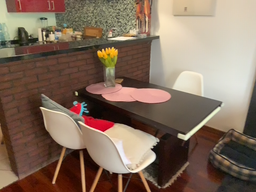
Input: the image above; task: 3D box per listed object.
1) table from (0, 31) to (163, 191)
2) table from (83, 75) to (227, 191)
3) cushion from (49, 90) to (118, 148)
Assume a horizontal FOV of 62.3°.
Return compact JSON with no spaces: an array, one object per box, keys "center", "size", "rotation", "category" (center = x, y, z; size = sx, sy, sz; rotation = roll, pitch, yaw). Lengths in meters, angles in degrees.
[{"center":[-0.440,-0.080,2.470],"size":[0.560,1.150,2.070],"rotation":[19,28,37],"category":"table"},{"center":[0.230,0.320,2.120],"size":[1.080,0.700,0.790],"rotation":[19,29,37],"category":"table"},{"center":[-0.370,0.170,1.810],"size":[0.460,0.270,0.340],"rotation":[15,26,32],"category":"cushion"}]
